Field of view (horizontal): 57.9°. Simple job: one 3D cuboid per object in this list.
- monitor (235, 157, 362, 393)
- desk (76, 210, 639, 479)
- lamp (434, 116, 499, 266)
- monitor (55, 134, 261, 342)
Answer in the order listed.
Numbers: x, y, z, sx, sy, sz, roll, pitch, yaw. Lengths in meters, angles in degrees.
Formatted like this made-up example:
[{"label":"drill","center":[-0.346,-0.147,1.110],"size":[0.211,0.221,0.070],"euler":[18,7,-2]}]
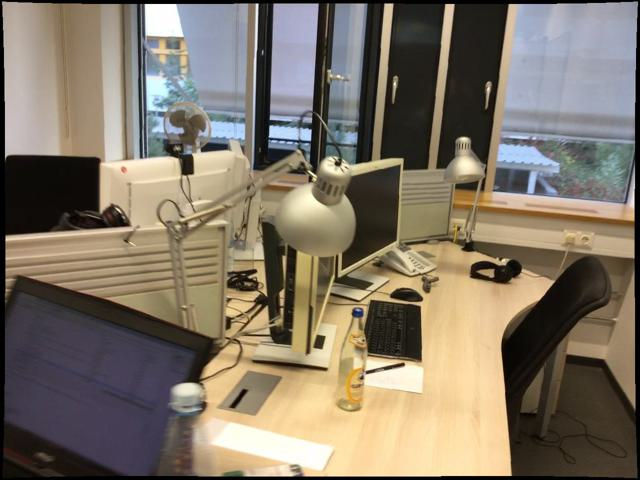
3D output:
[{"label":"monitor","center":[-0.040,0.050,1.740],"size":[0.210,0.500,0.680],"euler":[5,16,11]},{"label":"desk","center":[0.370,0.541,2.100],"size":[1.259,0.741,2.200],"euler":[5,16,11]},{"label":"lamp","center":[0.649,-0.250,2.630],"size":[0.200,0.571,0.570],"euler":[5,16,11]},{"label":"monitor","center":[-0.490,-0.050,1.920],"size":[0.190,0.541,0.670],"euler":[13,19,33]}]
